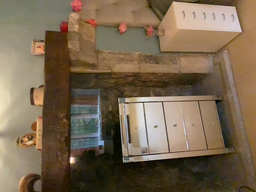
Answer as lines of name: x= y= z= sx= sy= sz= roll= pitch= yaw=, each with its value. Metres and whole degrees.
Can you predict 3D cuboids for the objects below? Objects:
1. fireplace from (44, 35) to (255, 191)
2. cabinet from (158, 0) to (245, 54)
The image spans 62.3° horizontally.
fireplace: x=0.160 y=0.400 z=2.170 sx=0.880 sy=1.780 sz=1.660 roll=131 pitch=136 yaw=-69
cabinet: x=0.710 y=-0.690 z=2.160 sx=0.480 sy=0.650 sz=0.320 roll=131 pitch=136 yaw=-69
